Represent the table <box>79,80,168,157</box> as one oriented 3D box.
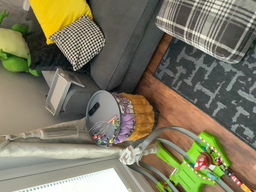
[{"bbox_3d":[-0.040,0.160,1.640,0.390,0.440,0.380,44,118,38],"label":"table"}]
